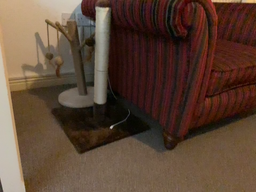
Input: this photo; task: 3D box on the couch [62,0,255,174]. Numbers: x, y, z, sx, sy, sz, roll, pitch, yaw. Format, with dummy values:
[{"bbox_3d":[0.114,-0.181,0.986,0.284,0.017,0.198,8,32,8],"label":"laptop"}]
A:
[{"bbox_3d":[0.410,-0.370,1.430,1.390,0.840,1.000,-11,31,-33],"label":"couch"}]
